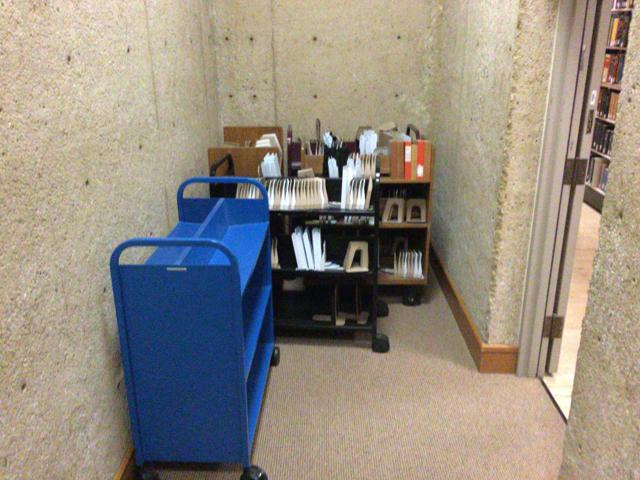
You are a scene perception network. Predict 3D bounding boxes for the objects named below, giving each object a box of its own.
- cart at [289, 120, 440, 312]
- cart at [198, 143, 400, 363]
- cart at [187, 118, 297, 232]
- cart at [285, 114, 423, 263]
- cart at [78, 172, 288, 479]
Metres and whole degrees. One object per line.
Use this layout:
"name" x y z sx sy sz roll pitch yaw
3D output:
"cart" 0.300 -0.160 3.790 0.870 1.110 0.520 -2 21 3
"cart" -0.070 0.060 3.390 1.000 1.080 0.660 -2 21 3
"cart" -0.470 -0.480 3.900 0.510 0.470 1.120 -3 21 3
"cart" 0.260 -0.380 4.180 0.900 0.920 0.530 -2 21 3
"cart" -0.500 0.350 2.610 0.530 1.050 1.050 -3 21 3
